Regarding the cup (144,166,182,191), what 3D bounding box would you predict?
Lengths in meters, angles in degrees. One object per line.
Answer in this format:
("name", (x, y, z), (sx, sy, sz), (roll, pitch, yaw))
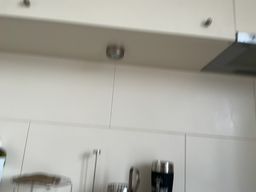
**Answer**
("cup", (0.130, 0.360, 0.810), (0.110, 0.160, 0.130), (5, -14, -5))
